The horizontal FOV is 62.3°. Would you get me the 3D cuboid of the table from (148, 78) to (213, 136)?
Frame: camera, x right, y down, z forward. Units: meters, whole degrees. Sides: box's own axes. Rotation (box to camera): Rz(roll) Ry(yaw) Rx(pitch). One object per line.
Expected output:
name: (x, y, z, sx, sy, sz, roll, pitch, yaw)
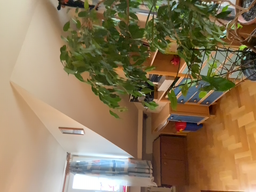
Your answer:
table: (0.870, 0.270, 3.890, 1.260, 0.720, 0.590, 109, 165, -65)
